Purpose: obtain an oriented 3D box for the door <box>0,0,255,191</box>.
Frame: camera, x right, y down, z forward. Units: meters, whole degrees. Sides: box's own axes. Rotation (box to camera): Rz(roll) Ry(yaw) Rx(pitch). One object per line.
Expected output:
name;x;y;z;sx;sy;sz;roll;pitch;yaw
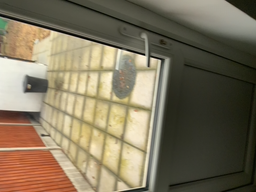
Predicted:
door;0.020;0.040;0.810;0.120;1.870;0.750;14;96;55
